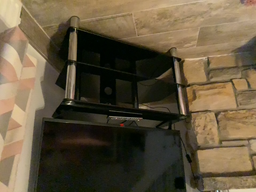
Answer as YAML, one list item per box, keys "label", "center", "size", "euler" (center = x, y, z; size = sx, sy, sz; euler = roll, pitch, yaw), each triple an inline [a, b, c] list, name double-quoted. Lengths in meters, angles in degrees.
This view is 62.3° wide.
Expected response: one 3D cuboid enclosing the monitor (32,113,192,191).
- label: "monitor"
  center: [-0.020, 0.410, 1.210]
  size: [0.950, 0.540, 0.040]
  euler: [9, 155, -27]
